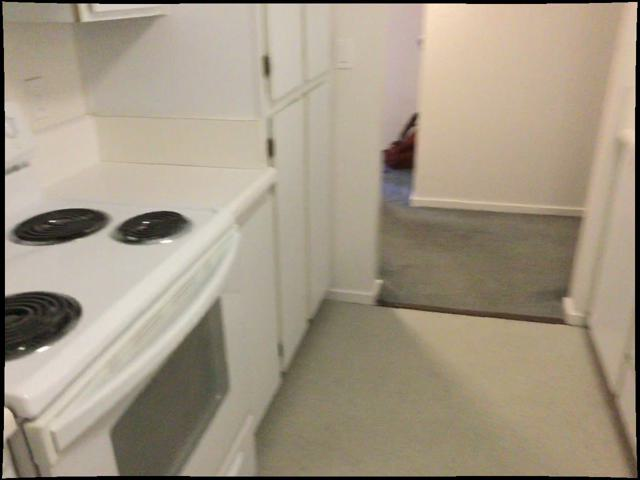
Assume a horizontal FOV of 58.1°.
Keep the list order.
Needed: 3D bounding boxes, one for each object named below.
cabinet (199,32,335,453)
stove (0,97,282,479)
[{"bbox_3d":[-0.110,-0.080,2.100,0.050,1.183,1.100,5,25,14],"label":"cabinet"},{"bbox_3d":[-0.608,0.361,1.340,0.738,1.193,0.860,5,25,14],"label":"stove"}]
